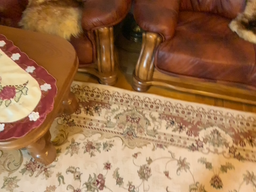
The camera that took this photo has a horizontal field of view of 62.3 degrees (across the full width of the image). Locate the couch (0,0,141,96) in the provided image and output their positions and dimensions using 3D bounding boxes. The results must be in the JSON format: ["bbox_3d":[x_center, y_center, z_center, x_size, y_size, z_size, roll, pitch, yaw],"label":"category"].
[{"bbox_3d":[-0.460,-0.730,1.480,1.020,0.930,0.930,11,57,4],"label":"couch"}]
